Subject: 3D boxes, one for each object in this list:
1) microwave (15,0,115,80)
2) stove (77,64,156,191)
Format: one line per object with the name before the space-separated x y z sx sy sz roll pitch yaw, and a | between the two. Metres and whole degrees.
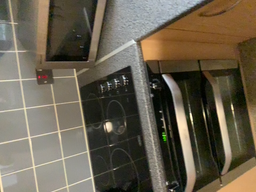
microwave | -0.310 -0.410 0.970 0.400 0.300 0.520 48 132 37
stove | -0.090 0.200 1.010 0.540 0.010 0.580 -13 86 54
